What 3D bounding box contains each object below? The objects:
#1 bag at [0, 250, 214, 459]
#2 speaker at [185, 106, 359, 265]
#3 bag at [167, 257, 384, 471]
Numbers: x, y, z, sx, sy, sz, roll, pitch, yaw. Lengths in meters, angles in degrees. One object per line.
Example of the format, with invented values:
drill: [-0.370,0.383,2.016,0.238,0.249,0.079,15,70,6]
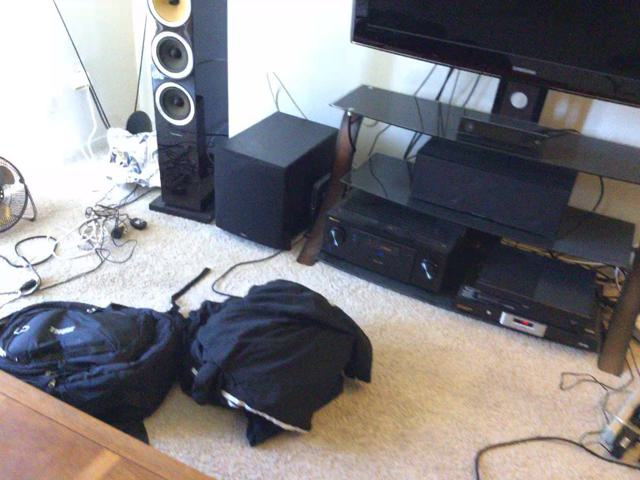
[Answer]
bag: [-0.630,0.270,1.540,0.550,0.240,0.460,7,26,9]
speaker: [-0.170,-0.230,2.180,0.460,0.400,0.450,15,28,23]
bag: [-0.100,0.290,1.520,0.380,0.260,0.430,15,28,23]
